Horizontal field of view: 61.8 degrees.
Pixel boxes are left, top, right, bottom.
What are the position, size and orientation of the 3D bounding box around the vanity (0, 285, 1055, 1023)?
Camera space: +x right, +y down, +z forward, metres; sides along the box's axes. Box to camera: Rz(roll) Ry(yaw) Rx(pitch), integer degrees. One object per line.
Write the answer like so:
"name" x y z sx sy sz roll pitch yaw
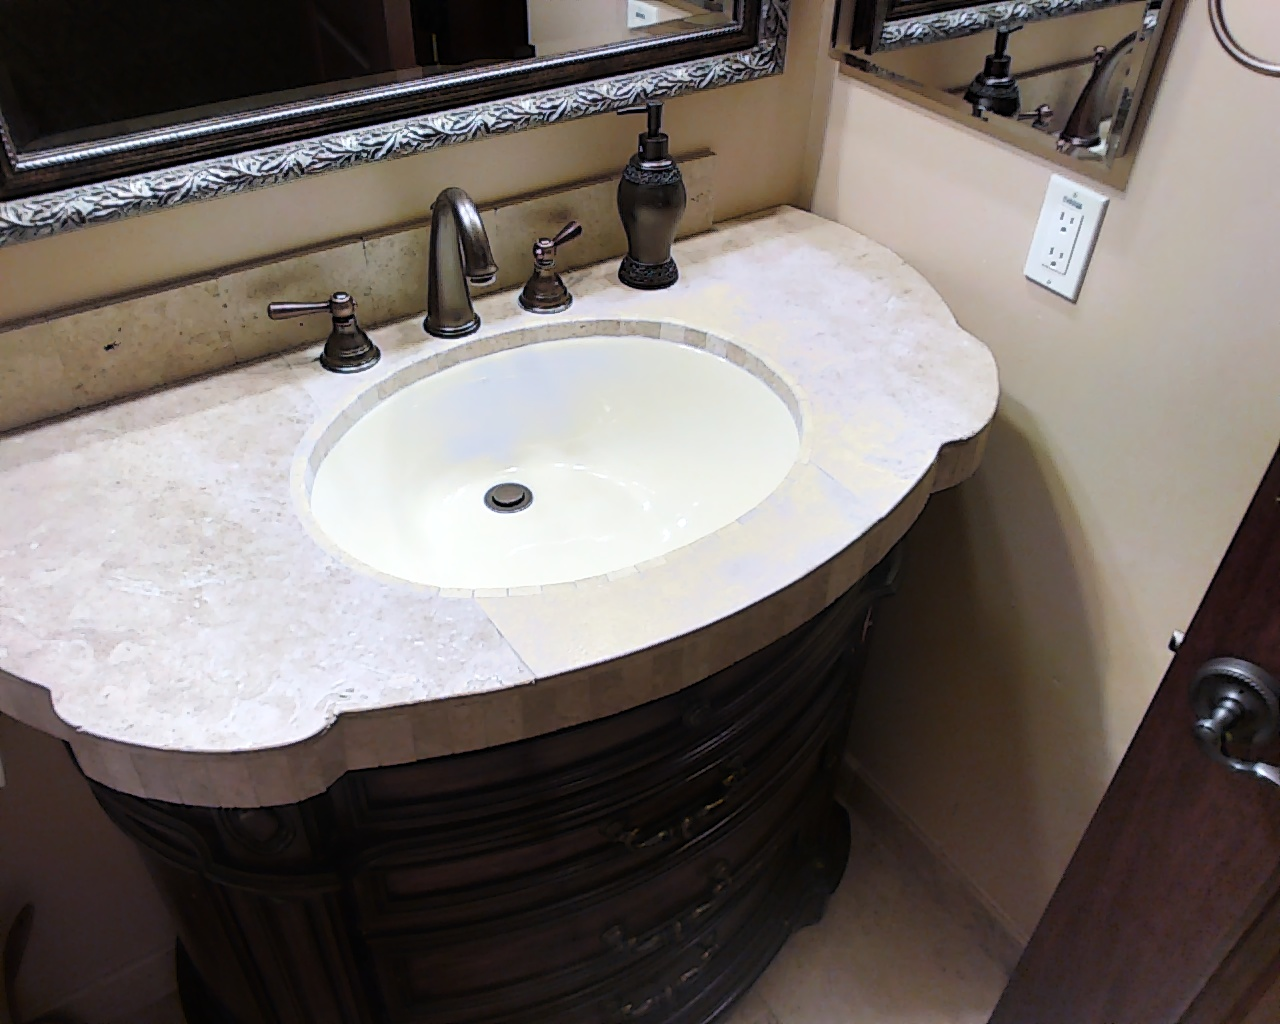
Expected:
"vanity" -0.090 0.330 1.300 0.900 0.900 0.420 -22 47 -25
